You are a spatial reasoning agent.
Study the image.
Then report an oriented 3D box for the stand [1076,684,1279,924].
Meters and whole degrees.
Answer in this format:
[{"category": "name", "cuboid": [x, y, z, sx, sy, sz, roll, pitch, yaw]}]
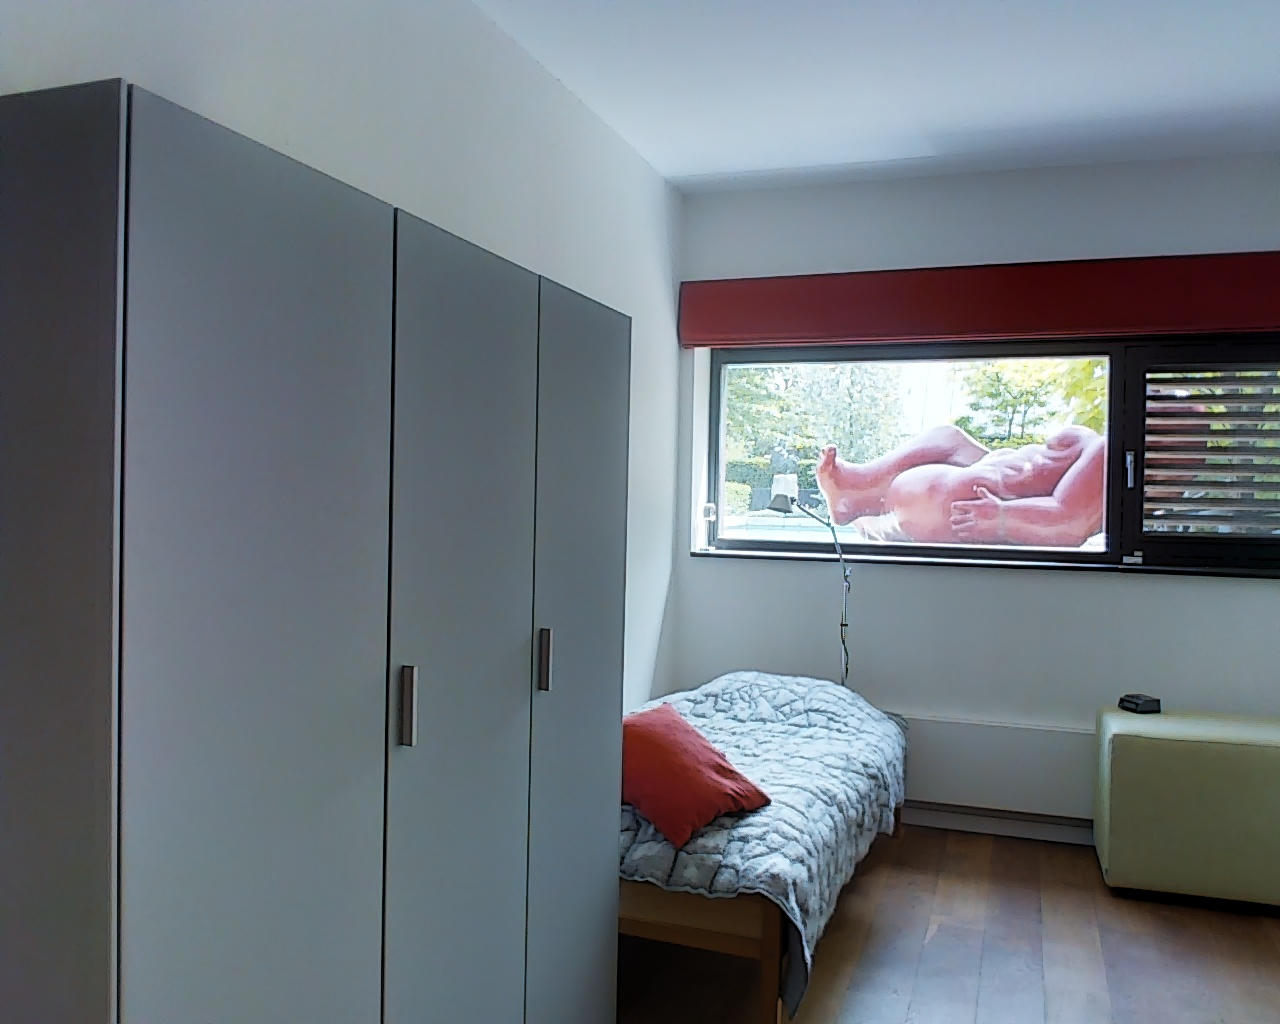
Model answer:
[{"category": "stand", "cuboid": [2.200, 1.050, 3.940, 1.070, 0.650, 0.670, 2, 1, 19]}]
